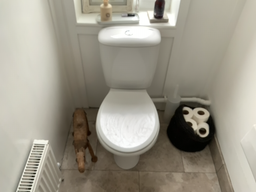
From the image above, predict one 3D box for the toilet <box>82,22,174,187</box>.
[{"bbox_3d":[-0.010,0.070,1.340,0.360,0.760,0.700,3,46,-1],"label":"toilet"}]
